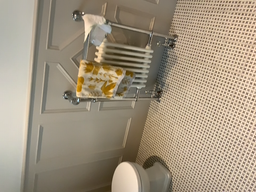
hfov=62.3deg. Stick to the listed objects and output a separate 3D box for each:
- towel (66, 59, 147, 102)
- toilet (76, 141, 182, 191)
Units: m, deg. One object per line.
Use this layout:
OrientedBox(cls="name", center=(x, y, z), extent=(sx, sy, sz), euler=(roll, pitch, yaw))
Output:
OrientedBox(cls="towel", center=(-0.160, -0.120, 1.640), extent=(0.260, 0.530, 0.250), euler=(27, 112, 50))
OrientedBox(cls="toilet", center=(-0.020, 0.860, 1.920), extent=(0.430, 0.770, 0.660), euler=(33, 116, 48))
